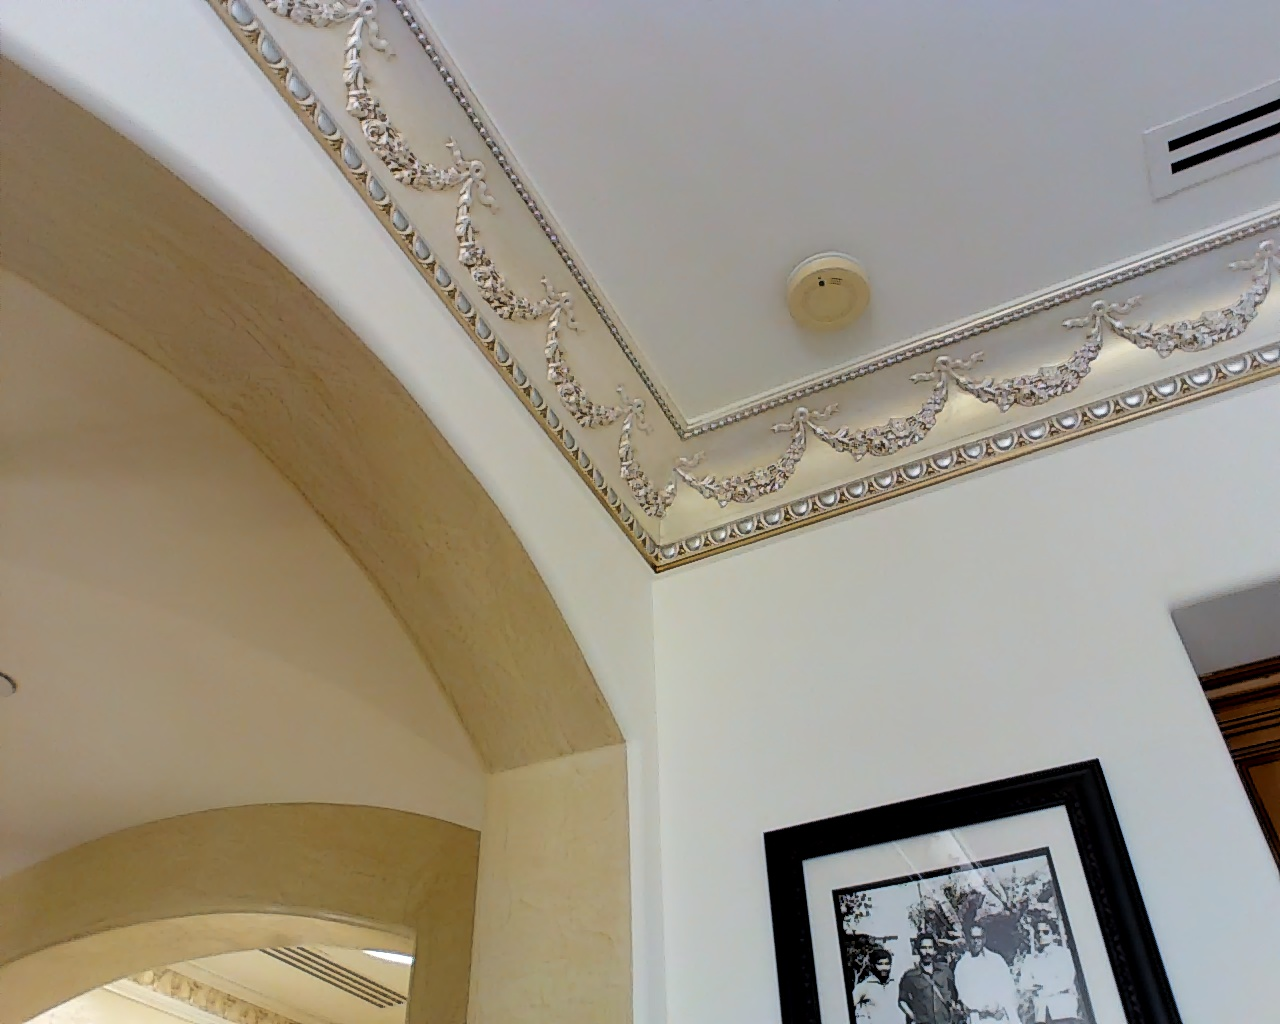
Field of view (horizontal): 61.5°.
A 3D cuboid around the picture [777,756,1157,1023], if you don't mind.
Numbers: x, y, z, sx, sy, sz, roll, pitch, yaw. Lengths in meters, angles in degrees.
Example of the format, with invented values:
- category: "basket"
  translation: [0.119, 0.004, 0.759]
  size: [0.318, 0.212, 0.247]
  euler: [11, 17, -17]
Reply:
- category: "picture"
  translation: [0.380, 0.580, 1.260]
  size: [0.400, 0.540, 0.020]
  euler: [-19, -44, 19]
